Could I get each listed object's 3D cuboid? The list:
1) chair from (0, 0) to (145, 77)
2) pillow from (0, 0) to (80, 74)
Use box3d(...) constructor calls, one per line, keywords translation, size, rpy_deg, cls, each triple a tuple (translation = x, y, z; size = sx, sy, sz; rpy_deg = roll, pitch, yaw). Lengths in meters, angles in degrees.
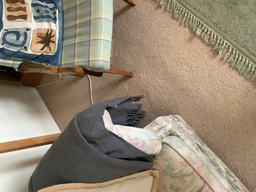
box3d(translation=(-0.420, -0.410, 1.250), size=(0.760, 0.730, 0.530), rpy_deg=(4, 91, 33), cls="chair")
box3d(translation=(-0.550, -0.390, 1.190), size=(0.160, 0.400, 0.380), rpy_deg=(25, 140, 59), cls="pillow")
